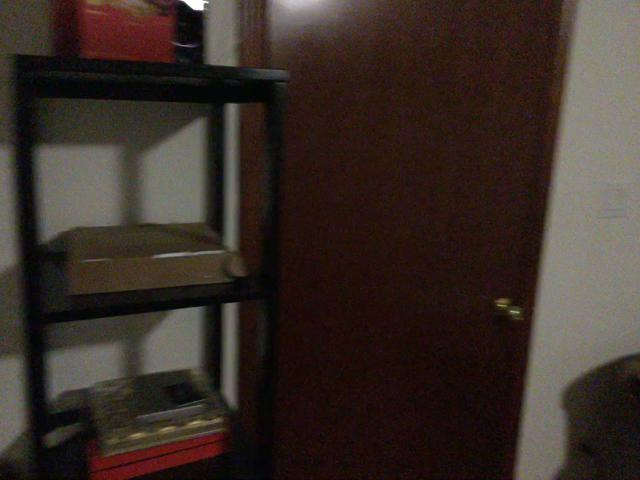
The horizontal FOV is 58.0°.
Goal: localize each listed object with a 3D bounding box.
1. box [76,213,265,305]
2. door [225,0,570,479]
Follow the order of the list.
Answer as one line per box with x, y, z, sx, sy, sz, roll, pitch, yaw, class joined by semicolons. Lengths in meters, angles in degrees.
-0.290;0.020;1.070;0.290;0.070;0.320;-6;13;-22;box
0.230;0.160;1.520;0.870;1.930;0.110;-6;13;-22;door
